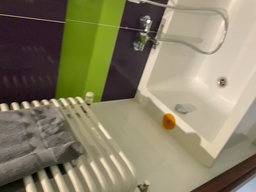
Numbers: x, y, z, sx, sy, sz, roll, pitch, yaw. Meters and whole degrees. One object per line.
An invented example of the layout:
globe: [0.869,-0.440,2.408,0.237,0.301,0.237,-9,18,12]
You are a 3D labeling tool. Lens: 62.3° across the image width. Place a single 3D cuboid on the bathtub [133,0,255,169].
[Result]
bathtub: [0.690,-0.520,1.160,0.690,0.590,1.670,44,127,40]
